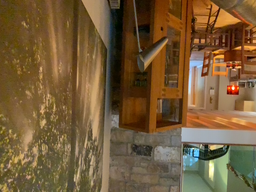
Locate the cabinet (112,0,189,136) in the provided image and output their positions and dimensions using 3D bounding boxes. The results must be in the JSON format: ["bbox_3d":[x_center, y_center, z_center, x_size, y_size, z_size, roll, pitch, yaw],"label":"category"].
[{"bbox_3d":[0.300,-0.560,2.560,0.530,1.900,0.760,3,-178,41],"label":"cabinet"}]
